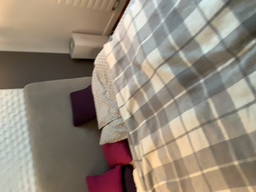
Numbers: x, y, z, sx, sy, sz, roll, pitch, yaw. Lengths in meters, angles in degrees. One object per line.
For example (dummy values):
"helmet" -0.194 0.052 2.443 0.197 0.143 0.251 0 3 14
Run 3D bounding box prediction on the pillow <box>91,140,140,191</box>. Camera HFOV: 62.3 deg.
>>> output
"pillow" -0.120 0.630 1.810 0.410 0.180 0.460 -21 76 56
